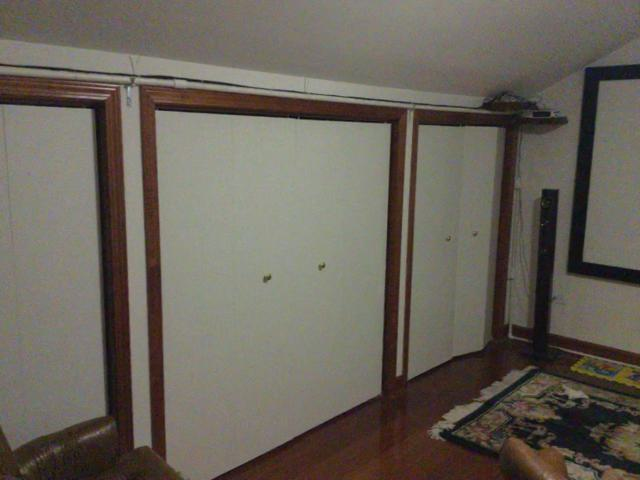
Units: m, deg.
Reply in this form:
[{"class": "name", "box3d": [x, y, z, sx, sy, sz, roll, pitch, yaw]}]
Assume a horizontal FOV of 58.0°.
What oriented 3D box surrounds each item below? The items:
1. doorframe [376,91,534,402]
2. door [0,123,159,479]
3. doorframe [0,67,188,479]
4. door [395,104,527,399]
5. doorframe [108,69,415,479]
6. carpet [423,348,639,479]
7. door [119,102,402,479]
[{"class": "doorframe", "box3d": [0.910, -0.050, 3.660, 0.230, 1.690, 1.420, 8, 15, 44]}, {"class": "door", "box3d": [-1.050, 0.480, 1.720, 0.160, 1.600, 1.080, 8, 15, 44]}, {"class": "doorframe", "box3d": [-1.080, 0.380, 1.680, 0.120, 1.710, 1.410, 8, 15, 44]}, {"class": "door", "box3d": [0.940, -0.010, 3.670, 0.150, 1.650, 1.280, 8, 15, 44]}, {"class": "doorframe", "box3d": [-0.090, 0.170, 2.690, 0.120, 1.780, 1.620, 8, 15, 44]}, {"class": "carpet", "box3d": [1.660, 0.970, 2.780, 1.920, 0.110, 1.260, 8, 15, 43]}, {"class": "door", "box3d": [-0.120, 0.220, 2.690, 0.110, 1.670, 1.490, 8, 15, 44]}]
